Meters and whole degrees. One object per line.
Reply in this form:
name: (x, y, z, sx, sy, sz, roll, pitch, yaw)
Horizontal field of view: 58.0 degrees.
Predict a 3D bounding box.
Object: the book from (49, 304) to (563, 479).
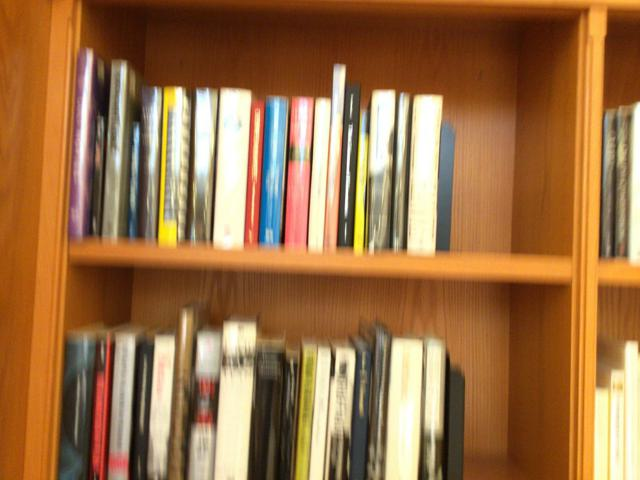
book: (-0.020, 0.290, 0.960, 0.750, 0.320, 0.210, 3, -6, 3)
